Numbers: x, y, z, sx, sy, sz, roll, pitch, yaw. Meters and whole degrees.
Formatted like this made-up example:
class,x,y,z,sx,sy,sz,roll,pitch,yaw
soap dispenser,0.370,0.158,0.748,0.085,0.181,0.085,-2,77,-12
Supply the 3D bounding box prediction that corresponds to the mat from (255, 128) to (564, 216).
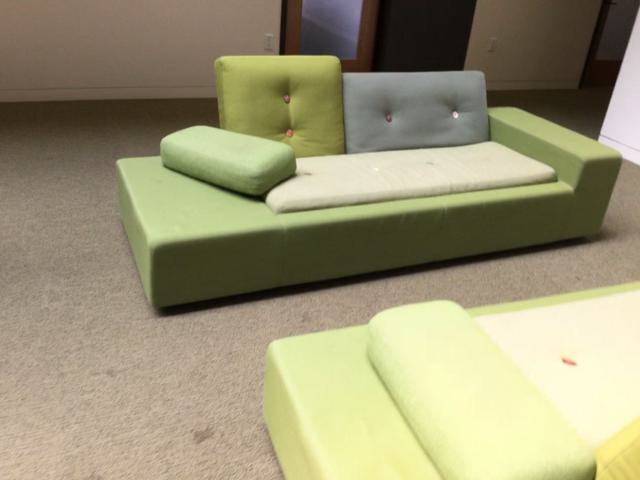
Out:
class,x,y,z,sx,sy,sz,roll,pitch,yaw
mat,0.430,-0.350,2.720,1.380,0.080,0.490,-9,33,-21
